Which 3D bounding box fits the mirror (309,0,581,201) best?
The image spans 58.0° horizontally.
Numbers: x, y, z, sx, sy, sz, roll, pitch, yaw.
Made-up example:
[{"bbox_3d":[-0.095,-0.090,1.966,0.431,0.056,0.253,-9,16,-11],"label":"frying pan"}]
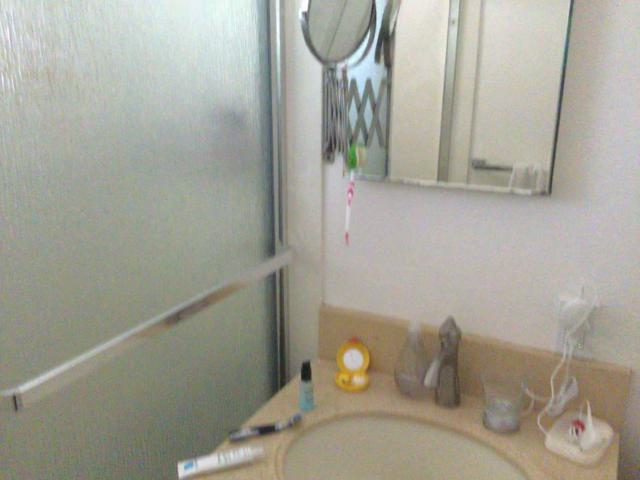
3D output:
[{"bbox_3d":[0.200,-0.440,1.020,0.480,0.700,0.060,8,17,30],"label":"mirror"}]
